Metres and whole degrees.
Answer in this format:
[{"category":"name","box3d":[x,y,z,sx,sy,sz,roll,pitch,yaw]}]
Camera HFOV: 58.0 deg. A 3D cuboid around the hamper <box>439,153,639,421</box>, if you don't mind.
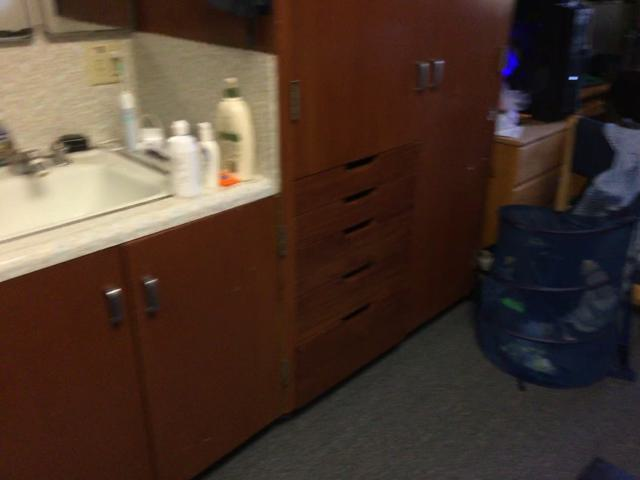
[{"category":"hamper","box3d":[0.850,0.120,2.070,0.570,0.640,0.550,22,34,38]}]
